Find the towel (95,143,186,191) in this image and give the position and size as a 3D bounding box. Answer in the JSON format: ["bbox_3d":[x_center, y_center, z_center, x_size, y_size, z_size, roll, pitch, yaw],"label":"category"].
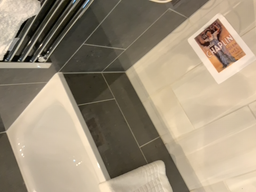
[{"bbox_3d":[0.090,0.430,1.020,0.090,0.460,0.270,-37,75,33],"label":"towel"}]
